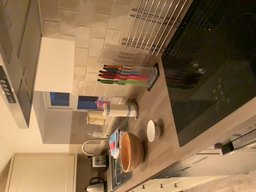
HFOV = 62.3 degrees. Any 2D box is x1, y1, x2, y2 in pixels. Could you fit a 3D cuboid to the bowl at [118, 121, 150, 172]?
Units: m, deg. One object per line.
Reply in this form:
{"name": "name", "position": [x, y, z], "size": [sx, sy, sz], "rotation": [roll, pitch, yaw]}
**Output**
{"name": "bowl", "position": [0.030, 0.340, 1.410], "size": [0.260, 0.120, 0.260], "rotation": [117, 152, -56]}
